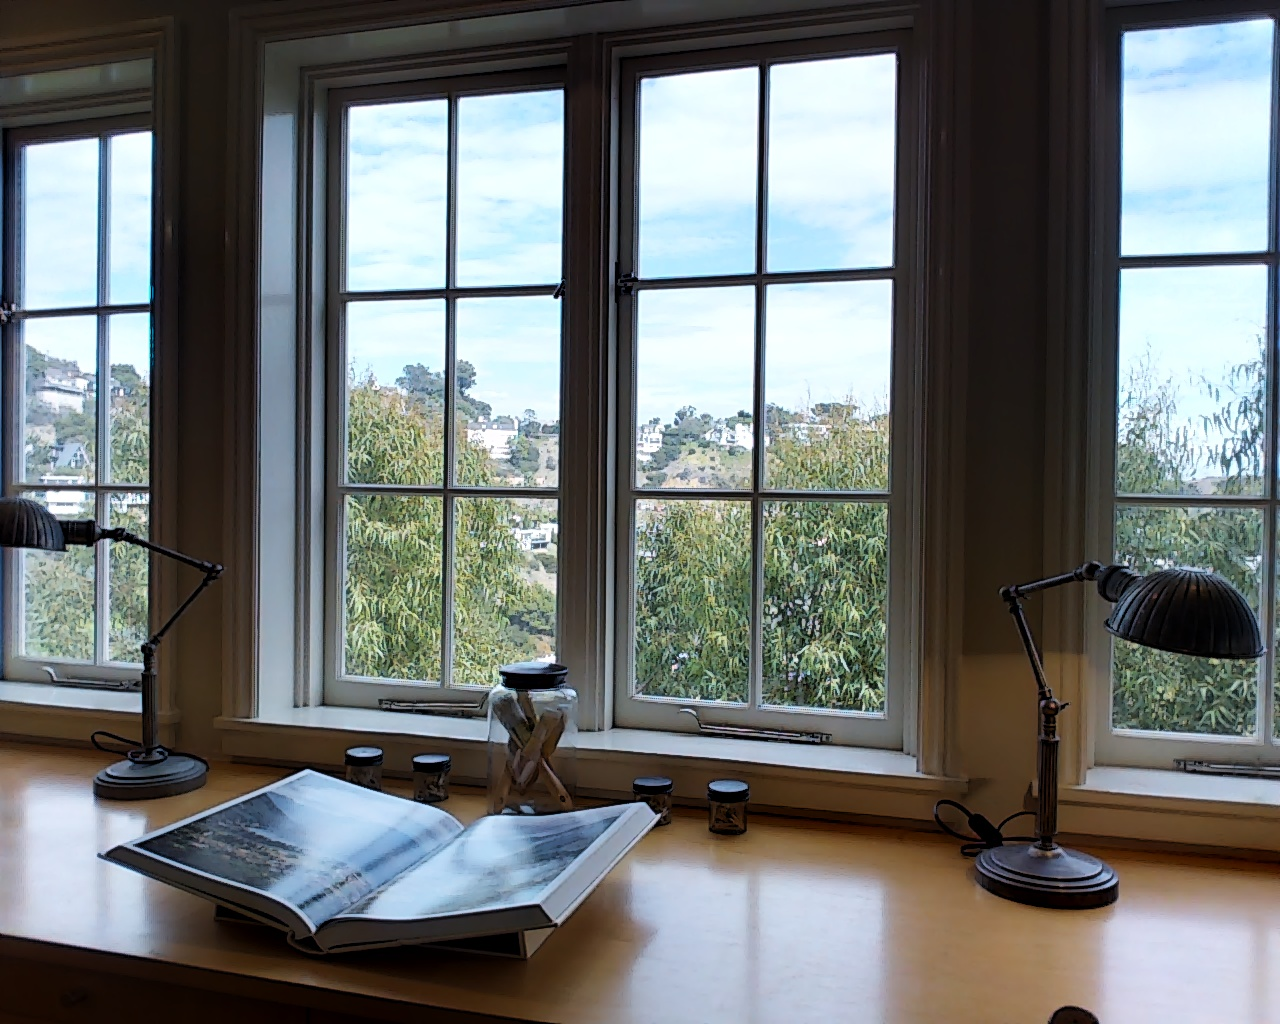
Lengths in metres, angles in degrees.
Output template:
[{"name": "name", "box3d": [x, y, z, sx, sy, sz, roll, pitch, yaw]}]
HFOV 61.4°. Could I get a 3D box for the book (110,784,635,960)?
[{"name": "book", "box3d": [-0.320, 0.430, 1.340, 0.570, 0.070, 0.280, 0, 1, 17]}]
